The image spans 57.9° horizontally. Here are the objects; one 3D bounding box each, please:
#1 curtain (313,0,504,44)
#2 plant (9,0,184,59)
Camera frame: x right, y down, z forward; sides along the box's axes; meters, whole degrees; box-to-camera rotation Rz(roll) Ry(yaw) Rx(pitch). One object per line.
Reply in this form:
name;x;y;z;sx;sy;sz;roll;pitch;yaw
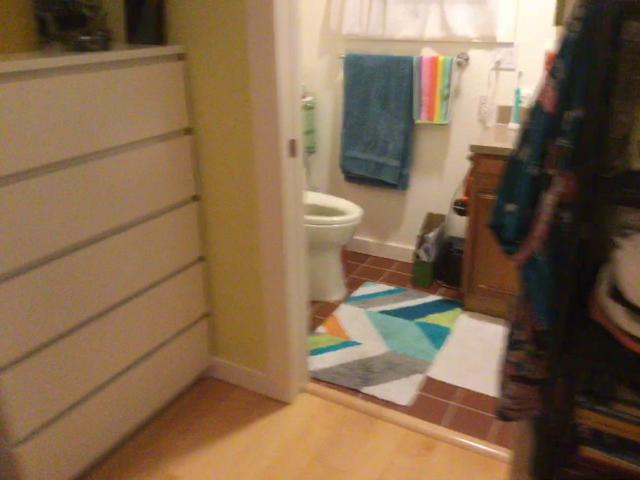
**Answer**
curtain;0.370;-1.240;2.510;0.840;0.710;0.120;6;25;22
plant;-0.640;-0.640;1.660;0.400;0.210;0.250;9;23;27
